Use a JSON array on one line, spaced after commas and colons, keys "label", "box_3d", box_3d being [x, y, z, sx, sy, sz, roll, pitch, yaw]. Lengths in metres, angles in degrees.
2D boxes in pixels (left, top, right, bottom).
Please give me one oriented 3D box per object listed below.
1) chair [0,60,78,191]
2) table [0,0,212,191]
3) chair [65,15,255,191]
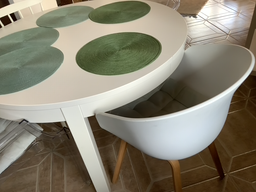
[{"label": "chair", "box_3d": [-0.640, 0.280, 0.970, 0.420, 0.800, 0.460, 18, 46, 27]}, {"label": "table", "box_3d": [-0.250, -0.080, 1.380, 1.150, 0.740, 1.170, 17, 46, 26]}, {"label": "chair", "box_3d": [0.190, 0.150, 1.010, 0.590, 0.780, 0.500, -32, 46, -26]}]
